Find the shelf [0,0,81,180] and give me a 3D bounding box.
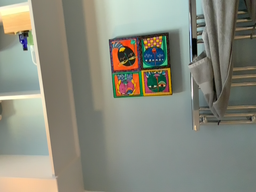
[{"bbox_3d":[-0.810,-0.600,1.240,0.740,2.170,0.290,-3,-171,12],"label":"shelf"}]
